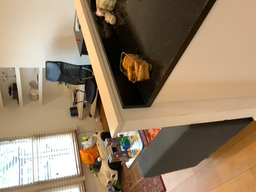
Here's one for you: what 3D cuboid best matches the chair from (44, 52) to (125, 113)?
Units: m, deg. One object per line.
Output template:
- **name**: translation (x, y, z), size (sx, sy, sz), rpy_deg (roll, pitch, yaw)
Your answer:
- **chair**: translation (-0.770, -0.230, 3.540), size (0.650, 1.140, 0.700), rpy_deg (114, 145, -45)
